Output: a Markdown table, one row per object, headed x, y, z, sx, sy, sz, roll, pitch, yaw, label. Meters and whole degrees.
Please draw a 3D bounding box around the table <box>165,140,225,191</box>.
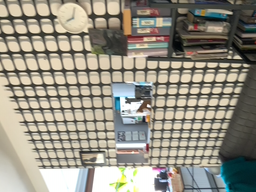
| x | y | z | sx | sy | sz | roll | pitch | yaw | label |
| --- | --- | --- | --- | --- | --- | --- | --- | --- | --- |
| 1.210 | 1.420 | 4.070 | 1.000 | 0.810 | 0.510 | -91 | 1 | -51 | table |
